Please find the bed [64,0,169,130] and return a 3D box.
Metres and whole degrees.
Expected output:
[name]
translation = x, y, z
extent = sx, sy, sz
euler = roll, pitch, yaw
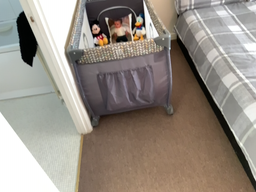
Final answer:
[bed]
translation = -0.100, -0.440, 2.030
extent = 0.660, 0.710, 1.250
euler = -9, 42, 0
